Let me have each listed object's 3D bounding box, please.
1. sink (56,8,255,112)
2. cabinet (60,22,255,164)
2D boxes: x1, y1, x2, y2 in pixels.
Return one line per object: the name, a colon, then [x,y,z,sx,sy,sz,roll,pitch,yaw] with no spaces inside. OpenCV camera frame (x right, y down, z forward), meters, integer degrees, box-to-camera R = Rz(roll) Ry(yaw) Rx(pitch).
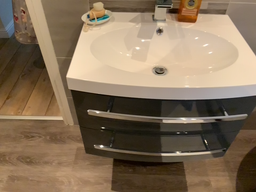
sink: [0.120,-0.170,0.810,0.640,0.110,0.490,1,46,0]
cabinet: [0.110,-0.020,0.970,0.640,0.410,0.490,1,46,0]
